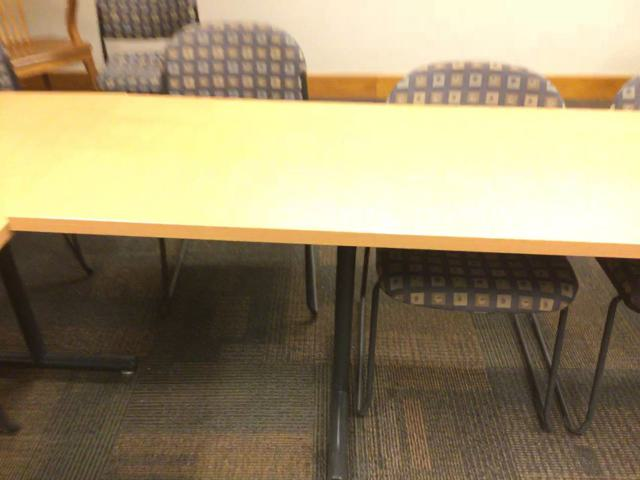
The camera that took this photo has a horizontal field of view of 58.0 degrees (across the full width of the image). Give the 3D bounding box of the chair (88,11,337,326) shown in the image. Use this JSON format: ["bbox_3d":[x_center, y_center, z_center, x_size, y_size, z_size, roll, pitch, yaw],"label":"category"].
[{"bbox_3d":[-0.240,-0.230,1.750,0.530,0.750,0.570,-3,30,2],"label":"chair"}]

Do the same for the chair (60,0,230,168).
[{"bbox_3d":[-0.720,-0.780,2.530,0.470,0.760,0.500,-3,30,2],"label":"chair"}]
